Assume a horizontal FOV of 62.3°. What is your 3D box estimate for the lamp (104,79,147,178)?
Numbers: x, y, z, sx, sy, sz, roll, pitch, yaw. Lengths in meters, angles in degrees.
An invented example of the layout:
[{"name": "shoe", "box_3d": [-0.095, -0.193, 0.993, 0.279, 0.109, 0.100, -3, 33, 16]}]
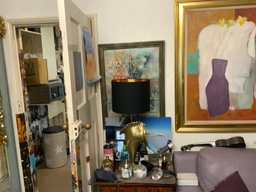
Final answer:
[{"name": "lamp", "box_3d": [0.000, 0.250, 1.760, 0.300, 0.750, 0.300, -1, 9, 5]}]
